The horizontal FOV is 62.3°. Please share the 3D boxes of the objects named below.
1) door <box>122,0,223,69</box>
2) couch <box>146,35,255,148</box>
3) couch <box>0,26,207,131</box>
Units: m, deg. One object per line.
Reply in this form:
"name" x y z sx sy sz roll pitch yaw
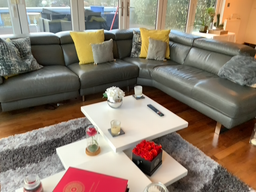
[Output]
"door" 1.090 -1.820 4.580 2.740 2.120 0.120 -14 29 -29
"couch" 1.040 -0.210 2.540 1.030 0.750 1.320 -13 29 -29
"couch" -0.410 -0.460 2.990 3.060 0.750 1.050 -14 29 -29
